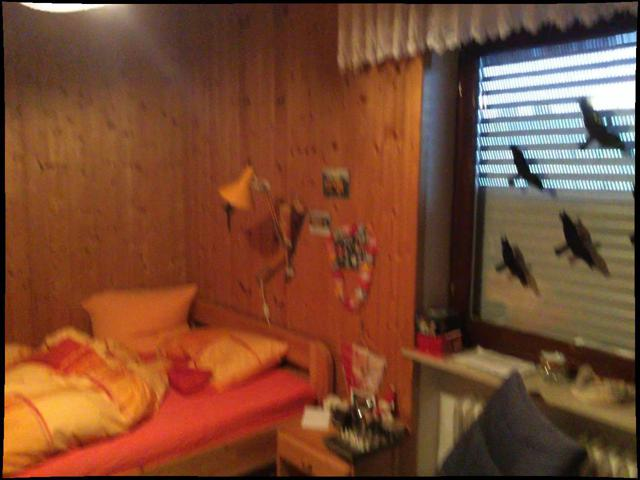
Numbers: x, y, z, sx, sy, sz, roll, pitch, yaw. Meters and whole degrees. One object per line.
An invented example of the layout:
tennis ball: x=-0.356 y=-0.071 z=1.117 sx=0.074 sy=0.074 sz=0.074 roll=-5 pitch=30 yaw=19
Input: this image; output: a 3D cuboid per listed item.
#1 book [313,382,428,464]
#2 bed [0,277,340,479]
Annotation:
book: x=0.200 y=0.701 z=2.260 sx=0.380 sy=0.130 sz=0.250 roll=-7 pitch=11 yaw=-40
bed: x=-1.249 y=0.821 z=2.560 sx=2.239 sy=0.781 sz=1.499 roll=-7 pitch=11 yaw=-40
